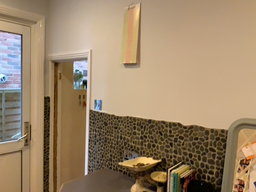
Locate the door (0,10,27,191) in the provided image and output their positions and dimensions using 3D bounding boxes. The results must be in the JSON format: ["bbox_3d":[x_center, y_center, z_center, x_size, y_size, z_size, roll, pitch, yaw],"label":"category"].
[{"bbox_3d":[-1.290,0.330,1.930,0.050,2.220,0.720,5,5,39],"label":"door"}]
